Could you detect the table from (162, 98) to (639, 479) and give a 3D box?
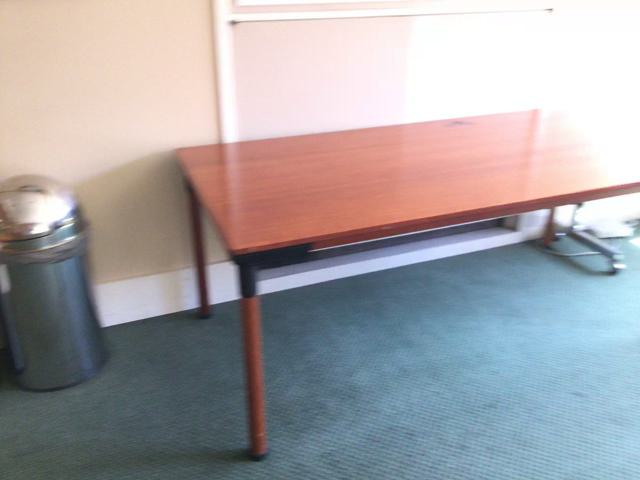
[{"bbox_3d":[0.480,0.000,2.170,1.880,0.800,1.070,-10,20,-18],"label":"table"}]
